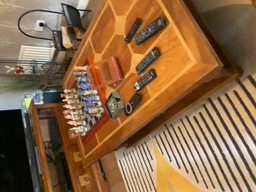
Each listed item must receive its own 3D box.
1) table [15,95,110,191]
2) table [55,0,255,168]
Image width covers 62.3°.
[{"bbox_3d":[-0.840,0.700,2.490,0.830,0.630,1.120,-46,57,43],"label":"table"},{"bbox_3d":[0.000,-0.140,1.430,1.260,0.470,0.800,-45,58,44],"label":"table"}]
